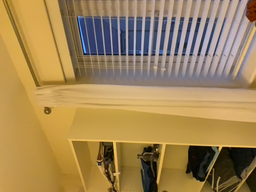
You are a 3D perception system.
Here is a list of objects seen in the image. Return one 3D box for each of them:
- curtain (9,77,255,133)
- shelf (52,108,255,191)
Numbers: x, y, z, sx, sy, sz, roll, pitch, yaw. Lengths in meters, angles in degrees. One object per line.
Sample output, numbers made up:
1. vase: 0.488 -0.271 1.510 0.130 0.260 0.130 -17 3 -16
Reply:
1. curtain: 0.440 0.070 1.350 0.140 2.250 0.320 -87 -3 -46
2. shelf: 0.570 0.580 1.760 0.300 2.080 1.010 -87 -3 -46
